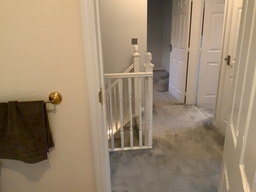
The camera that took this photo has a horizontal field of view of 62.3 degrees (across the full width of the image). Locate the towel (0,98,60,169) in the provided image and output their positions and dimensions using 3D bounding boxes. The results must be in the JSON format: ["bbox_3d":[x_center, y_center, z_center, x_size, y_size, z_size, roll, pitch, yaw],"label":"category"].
[{"bbox_3d":[-0.700,0.230,1.270,0.500,0.390,0.120,-4,18,-7],"label":"towel"}]
